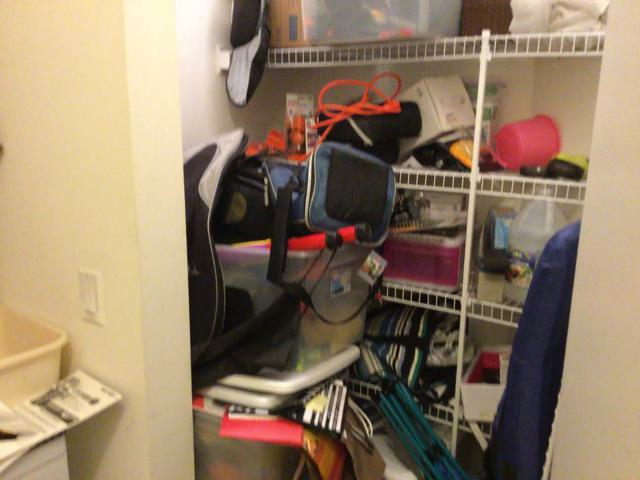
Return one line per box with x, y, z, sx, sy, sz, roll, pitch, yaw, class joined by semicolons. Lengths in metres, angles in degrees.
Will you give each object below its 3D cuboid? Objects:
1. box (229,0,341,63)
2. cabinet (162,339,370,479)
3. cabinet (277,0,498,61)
-0.100;-0.810;1.640;0.260;0.570;0.190;8;15;31;box
-0.110;0.550;1.400;0.300;0.450;0.410;8;15;31;cabinet
0.190;-0.660;1.510;0.430;0.320;0.440;8;15;31;cabinet
